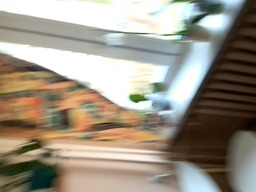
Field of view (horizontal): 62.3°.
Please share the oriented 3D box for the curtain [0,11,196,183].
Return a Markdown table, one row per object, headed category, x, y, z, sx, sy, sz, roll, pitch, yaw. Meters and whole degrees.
| category | x | y | z | sx | sy | sz | roll | pitch | yaw |
| --- | --- | --- | --- | --- | --- | --- | --- | --- | --- |
| curtain | -0.590 | 0.060 | 1.130 | 0.300 | 1.600 | 0.890 | -100 | 21 | -53 |
